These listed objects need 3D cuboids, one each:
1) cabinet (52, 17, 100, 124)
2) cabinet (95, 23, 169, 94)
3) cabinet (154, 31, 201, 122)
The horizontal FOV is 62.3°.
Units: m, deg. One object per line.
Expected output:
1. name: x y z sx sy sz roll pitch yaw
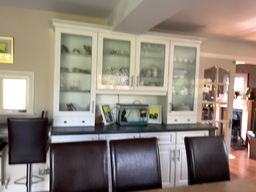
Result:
1. cabinet: -0.670 -0.290 2.690 0.530 1.240 0.330 1 3 -18
2. cabinet: 0.040 -0.470 2.900 0.920 0.840 0.350 1 3 -18
3. cabinet: 0.720 -0.260 3.140 0.530 1.240 0.340 1 3 -18
